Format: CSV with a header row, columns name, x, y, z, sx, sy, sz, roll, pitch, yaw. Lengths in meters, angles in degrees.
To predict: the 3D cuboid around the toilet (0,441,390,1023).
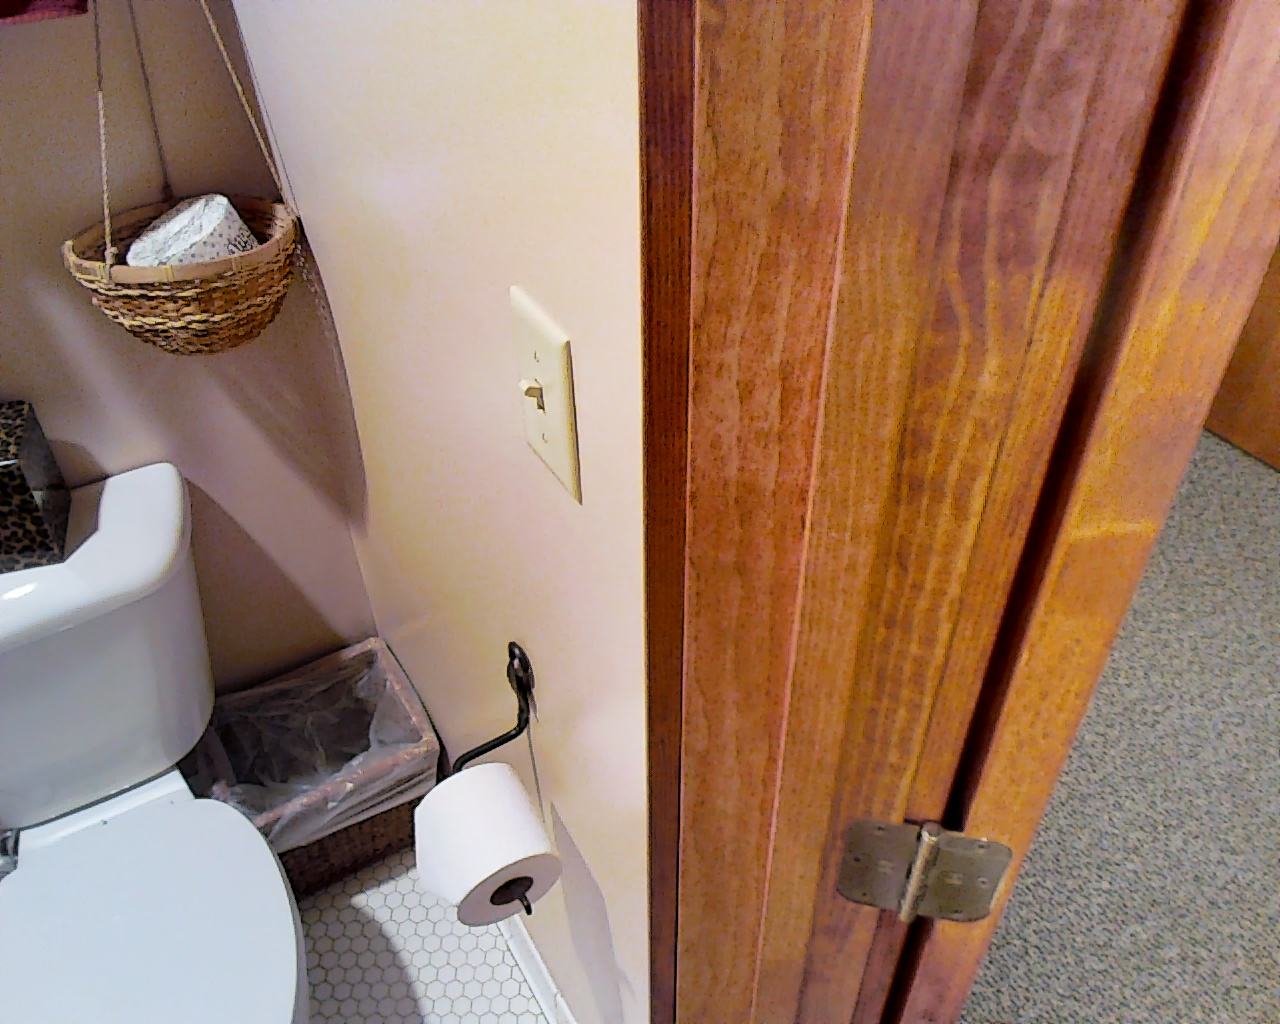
name,x,y,z,sx,sy,sz,roll,pitch,yaw
toilet,-0.670,0.430,1.330,0.470,0.710,0.610,-23,47,-22
